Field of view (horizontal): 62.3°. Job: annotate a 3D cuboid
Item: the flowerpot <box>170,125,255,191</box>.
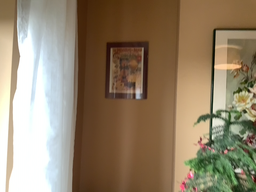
[{"bbox_3d":[0.300,0.380,0.740,0.300,0.500,0.400,2,-1,13],"label":"flowerpot"}]
